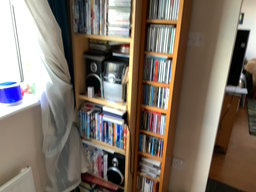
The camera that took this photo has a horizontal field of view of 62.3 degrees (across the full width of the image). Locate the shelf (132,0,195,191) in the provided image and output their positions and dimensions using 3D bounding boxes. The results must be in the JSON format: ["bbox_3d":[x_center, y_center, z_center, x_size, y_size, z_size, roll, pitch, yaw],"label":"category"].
[{"bbox_3d":[0.190,0.080,1.310,0.190,2.030,0.200,16,26,31],"label":"shelf"}]
